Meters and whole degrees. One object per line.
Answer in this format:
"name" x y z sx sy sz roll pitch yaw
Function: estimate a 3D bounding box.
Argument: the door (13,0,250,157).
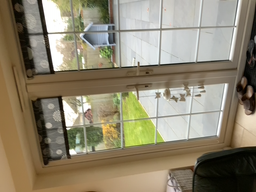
"door" 0.130 -0.200 2.010 0.070 1.980 1.530 -118 24 -65
